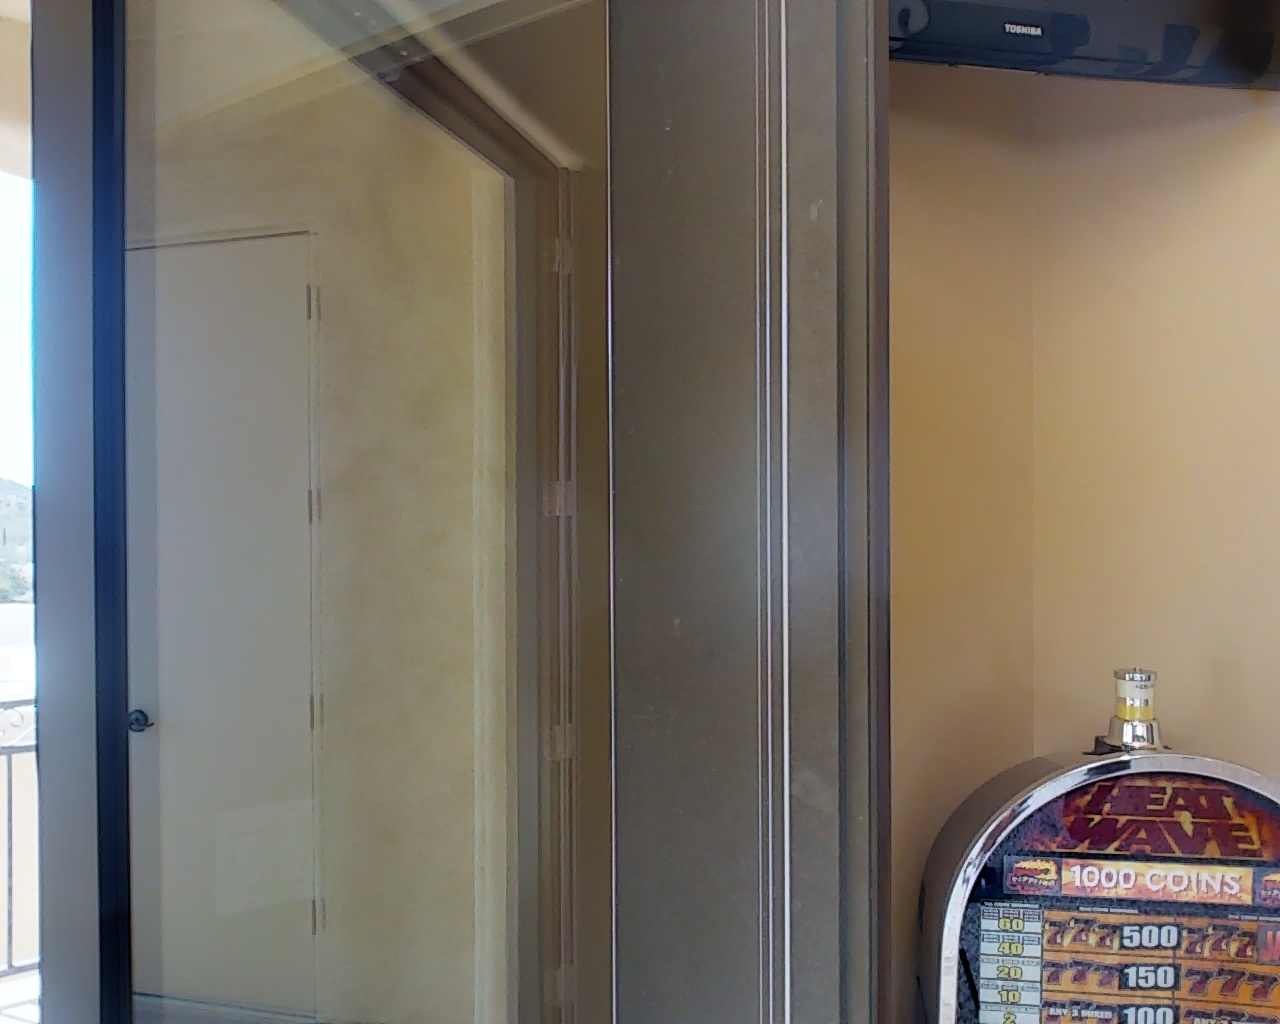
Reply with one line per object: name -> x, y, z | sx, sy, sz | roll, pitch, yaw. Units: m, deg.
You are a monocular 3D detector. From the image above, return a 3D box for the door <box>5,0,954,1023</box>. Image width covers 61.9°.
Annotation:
door -> -0.200, 0.300, 0.840 | 0.850, 2.360, 0.160 | 0, 1, 35
